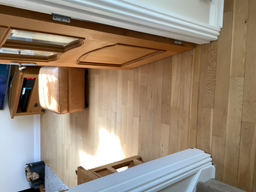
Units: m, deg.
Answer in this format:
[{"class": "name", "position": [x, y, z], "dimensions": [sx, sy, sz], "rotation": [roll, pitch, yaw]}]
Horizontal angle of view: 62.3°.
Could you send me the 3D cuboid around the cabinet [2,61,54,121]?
[{"class": "cabinet", "position": [-1.770, -0.070, 3.700], "dimensions": [0.370, 0.590, 1.030], "rotation": [56, 130, 31]}]
